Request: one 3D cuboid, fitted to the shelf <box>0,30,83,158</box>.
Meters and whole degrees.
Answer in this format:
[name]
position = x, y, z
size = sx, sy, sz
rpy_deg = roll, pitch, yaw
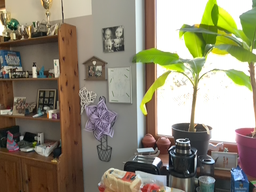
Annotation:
[shelf]
position = -0.960, -0.030, 2.090
size = 1.050, 1.070, 0.230
rpy_deg = 2, 7, 25
